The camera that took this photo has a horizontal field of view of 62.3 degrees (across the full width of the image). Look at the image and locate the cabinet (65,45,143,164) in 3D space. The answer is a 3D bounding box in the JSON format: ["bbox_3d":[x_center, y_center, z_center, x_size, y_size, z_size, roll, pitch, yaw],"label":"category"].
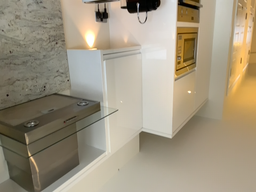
[{"bbox_3d":[-0.150,0.020,1.690,0.320,0.790,0.520,9,-160,32],"label":"cabinet"}]

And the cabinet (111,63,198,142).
[{"bbox_3d":[0.290,0.000,2.130,0.600,0.540,0.680,9,-160,32],"label":"cabinet"}]

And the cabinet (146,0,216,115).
[{"bbox_3d":[0.610,-0.930,2.400,0.600,2.150,0.560,9,-160,32],"label":"cabinet"}]
